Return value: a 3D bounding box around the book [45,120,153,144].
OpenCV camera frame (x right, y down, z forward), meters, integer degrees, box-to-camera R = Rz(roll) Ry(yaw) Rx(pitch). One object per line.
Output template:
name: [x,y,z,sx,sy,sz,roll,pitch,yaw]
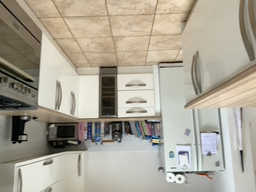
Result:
book: [-0.500,0.640,3.780,1.850,0.370,0.250,-1,170,-1]
